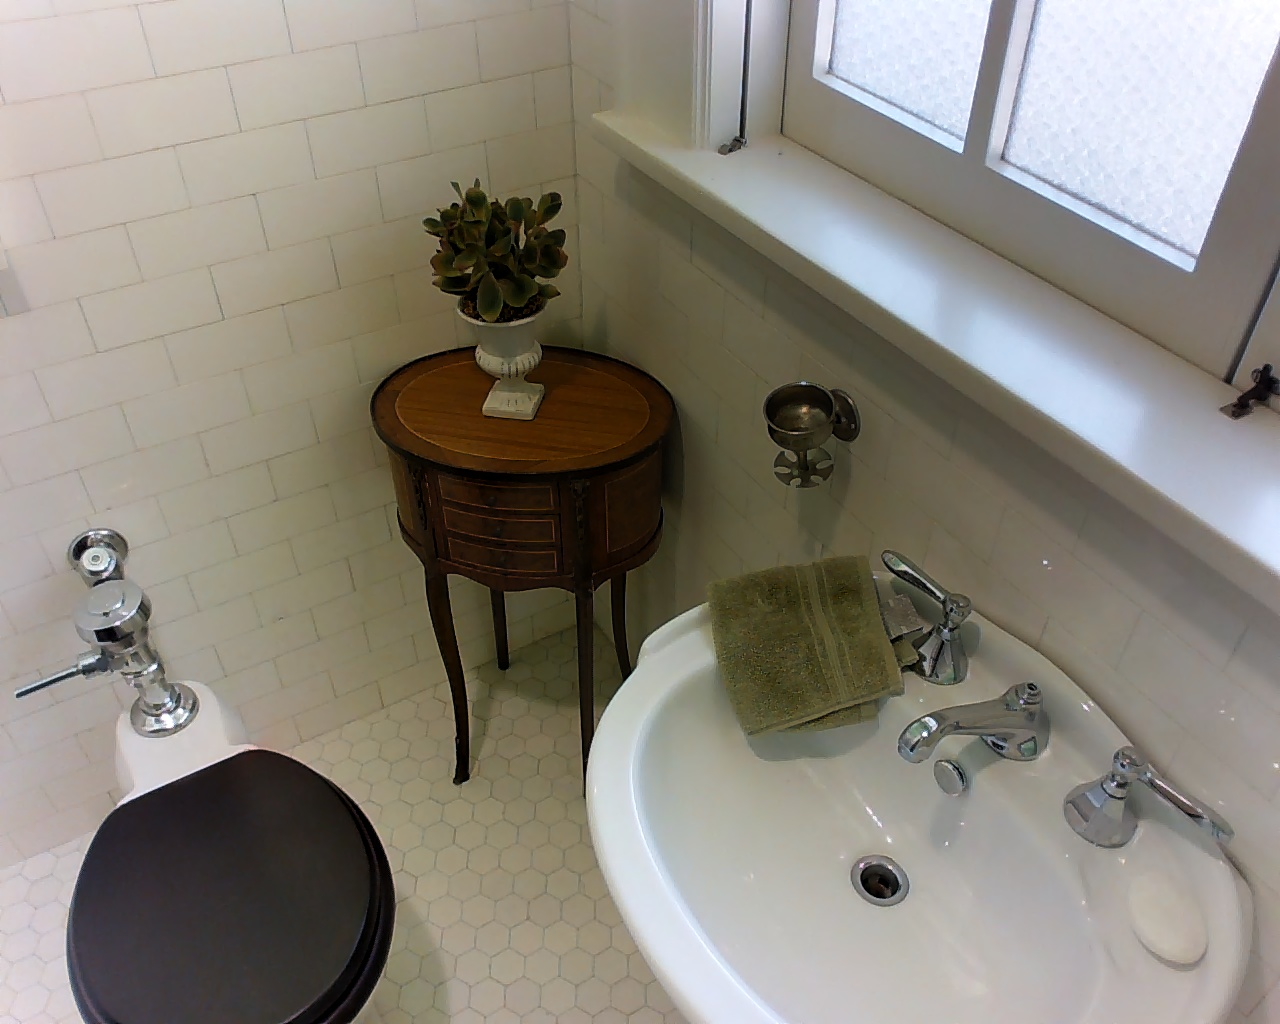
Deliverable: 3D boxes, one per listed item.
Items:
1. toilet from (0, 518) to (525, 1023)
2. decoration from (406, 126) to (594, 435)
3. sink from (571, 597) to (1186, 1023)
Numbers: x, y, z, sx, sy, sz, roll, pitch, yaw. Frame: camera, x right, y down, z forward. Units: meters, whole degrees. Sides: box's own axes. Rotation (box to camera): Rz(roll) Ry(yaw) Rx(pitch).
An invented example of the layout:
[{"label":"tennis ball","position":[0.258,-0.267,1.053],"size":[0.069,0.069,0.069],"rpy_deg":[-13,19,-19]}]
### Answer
[{"label":"toilet","position":[-0.540,0.490,1.450],"size":[0.500,0.460,0.790],"rpy_deg":[-20,45,-21]},{"label":"decoration","position":[-0.170,-0.290,1.370],"size":[0.170,0.330,0.130],"rpy_deg":[-22,46,-23]},{"label":"sink","position":[0.180,0.320,0.960],"size":[0.300,0.160,0.430],"rpy_deg":[-23,46,-24]}]
